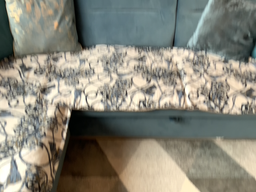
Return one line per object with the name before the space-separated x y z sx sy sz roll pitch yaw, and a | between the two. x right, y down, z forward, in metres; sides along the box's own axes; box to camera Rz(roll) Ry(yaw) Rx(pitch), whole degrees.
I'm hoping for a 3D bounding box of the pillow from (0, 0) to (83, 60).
pillow | -0.570 -0.470 1.380 0.440 0.400 0.190 0 46 -28
